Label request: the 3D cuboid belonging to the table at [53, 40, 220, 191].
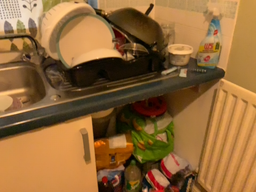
[{"bbox_3d":[0.000,0.220,1.360,0.640,0.940,0.660,-15,32,-26],"label":"table"}]
